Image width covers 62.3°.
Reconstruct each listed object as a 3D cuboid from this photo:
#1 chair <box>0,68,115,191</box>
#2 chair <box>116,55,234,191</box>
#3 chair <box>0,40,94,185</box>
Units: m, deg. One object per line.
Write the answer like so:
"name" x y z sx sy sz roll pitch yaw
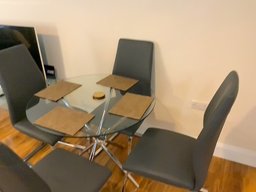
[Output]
"chair" -0.430 0.460 1.160 0.470 1.030 0.570 14 31 25
"chair" 0.280 0.330 1.380 0.530 1.030 0.450 11 30 21
"chair" -0.710 0.120 1.800 0.590 1.030 0.450 13 31 24
